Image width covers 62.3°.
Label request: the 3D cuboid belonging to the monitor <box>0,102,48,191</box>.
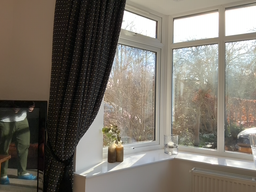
[{"bbox_3d":[-1.130,0.410,1.280,1.200,0.760,0.050,2,-2,-28],"label":"monitor"}]

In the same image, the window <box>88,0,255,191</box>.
[{"bbox_3d":[0.900,-0.170,1.570,2.140,1.740,1.140,0,-2,34],"label":"window"}]
